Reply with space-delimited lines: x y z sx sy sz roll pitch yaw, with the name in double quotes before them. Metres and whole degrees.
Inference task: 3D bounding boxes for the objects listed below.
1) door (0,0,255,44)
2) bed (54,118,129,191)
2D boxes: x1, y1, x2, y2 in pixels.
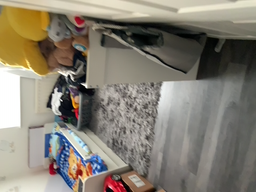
"door" 0.140 -0.230 0.580 0.760 1.920 0.040 24 112 51
"bed" -0.600 0.940 2.950 1.400 0.410 0.770 26 114 50
